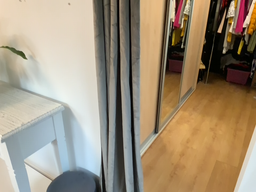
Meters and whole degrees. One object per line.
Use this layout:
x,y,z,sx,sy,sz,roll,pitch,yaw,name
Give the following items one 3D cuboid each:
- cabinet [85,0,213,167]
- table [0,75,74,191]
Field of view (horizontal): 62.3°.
0.460,-0.890,2.420,0.440,2.440,2.250,16,30,28,cabinet
-1.060,0.330,1.680,1.200,0.870,0.430,17,30,28,table
